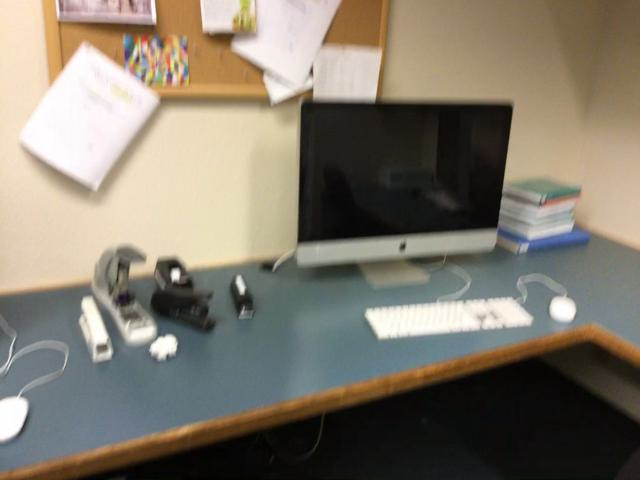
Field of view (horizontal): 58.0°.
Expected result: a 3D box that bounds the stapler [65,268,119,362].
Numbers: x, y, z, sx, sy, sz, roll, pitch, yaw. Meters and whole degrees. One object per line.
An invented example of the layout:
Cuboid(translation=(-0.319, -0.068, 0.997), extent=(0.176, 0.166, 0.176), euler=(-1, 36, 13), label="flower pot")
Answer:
Cuboid(translation=(-0.530, 0.160, 1.330), extent=(0.060, 0.080, 0.350), euler=(-4, 18, -30), label="stapler")

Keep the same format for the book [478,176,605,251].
Cuboid(translation=(0.820, -0.110, 2.130), extent=(0.430, 0.200, 0.220), euler=(-7, 20, -39), label="book")
